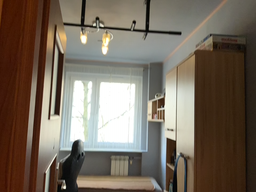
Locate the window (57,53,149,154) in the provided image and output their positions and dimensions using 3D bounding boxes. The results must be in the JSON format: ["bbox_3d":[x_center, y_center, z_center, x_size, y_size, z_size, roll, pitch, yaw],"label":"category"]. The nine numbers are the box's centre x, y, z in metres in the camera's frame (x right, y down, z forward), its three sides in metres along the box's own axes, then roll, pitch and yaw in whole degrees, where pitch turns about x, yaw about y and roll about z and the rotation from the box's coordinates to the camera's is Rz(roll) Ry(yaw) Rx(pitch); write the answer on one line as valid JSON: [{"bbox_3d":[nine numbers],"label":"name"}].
[{"bbox_3d":[-0.450,0.150,4.070,1.620,1.810,0.200,3,-5,-7],"label":"window"}]
